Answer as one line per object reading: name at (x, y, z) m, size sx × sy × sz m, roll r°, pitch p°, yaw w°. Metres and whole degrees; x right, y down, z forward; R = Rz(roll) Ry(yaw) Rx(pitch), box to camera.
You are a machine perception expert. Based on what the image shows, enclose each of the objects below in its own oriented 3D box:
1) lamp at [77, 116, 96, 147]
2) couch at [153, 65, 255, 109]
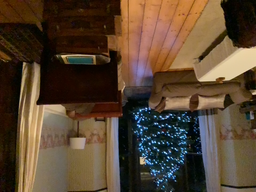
lamp at (-1.200, 1.040, 6.200) m, size 0.460 × 0.860 × 0.470 m, roll -2°, pitch 170°, yaw 1°
couch at (1.630, -0.150, 4.780) m, size 2.010 × 0.720 × 0.990 m, roll -2°, pitch 170°, yaw 1°
